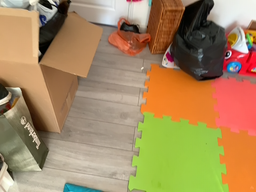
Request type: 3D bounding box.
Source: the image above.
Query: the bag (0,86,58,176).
[{"bbox_3d":[-0.700,0.190,1.140,0.490,0.470,0.250,8,50,0],"label":"bag"}]

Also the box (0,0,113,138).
[{"bbox_3d":[-0.510,-0.290,1.270,0.750,0.880,0.640,7,50,-1],"label":"box"}]
